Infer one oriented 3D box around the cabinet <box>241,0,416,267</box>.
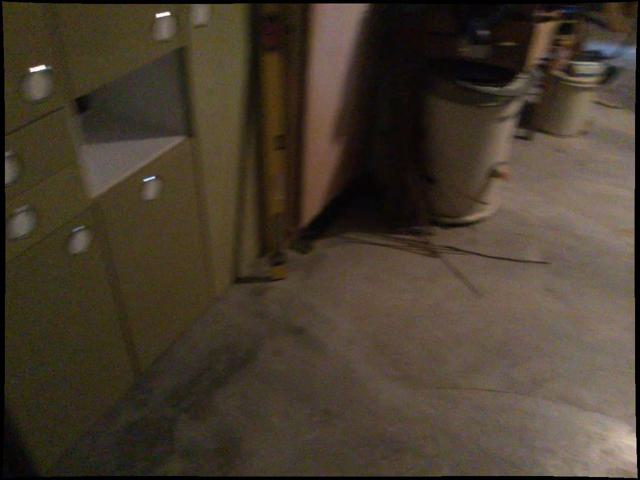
[{"bbox_3d":[0.060,-0.801,1.720,0.270,1.771,0.640,20,44,21],"label":"cabinet"}]
